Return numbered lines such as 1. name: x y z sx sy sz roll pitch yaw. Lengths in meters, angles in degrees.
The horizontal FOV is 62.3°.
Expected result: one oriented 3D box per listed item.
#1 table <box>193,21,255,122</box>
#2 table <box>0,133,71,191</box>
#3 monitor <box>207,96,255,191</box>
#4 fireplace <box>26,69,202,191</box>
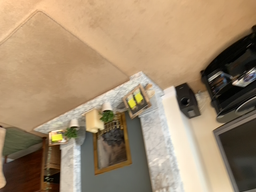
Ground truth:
1. table: 1.060 -0.160 1.880 0.450 0.490 0.730 7 145 -25
2. table: -1.440 1.120 3.150 1.080 0.710 0.550 -24 146 24
3. monitor: 1.050 0.280 1.530 0.040 0.620 0.900 12 144 -33
4. fireplace: -0.220 0.720 2.280 1.590 1.230 0.790 -25 146 25
